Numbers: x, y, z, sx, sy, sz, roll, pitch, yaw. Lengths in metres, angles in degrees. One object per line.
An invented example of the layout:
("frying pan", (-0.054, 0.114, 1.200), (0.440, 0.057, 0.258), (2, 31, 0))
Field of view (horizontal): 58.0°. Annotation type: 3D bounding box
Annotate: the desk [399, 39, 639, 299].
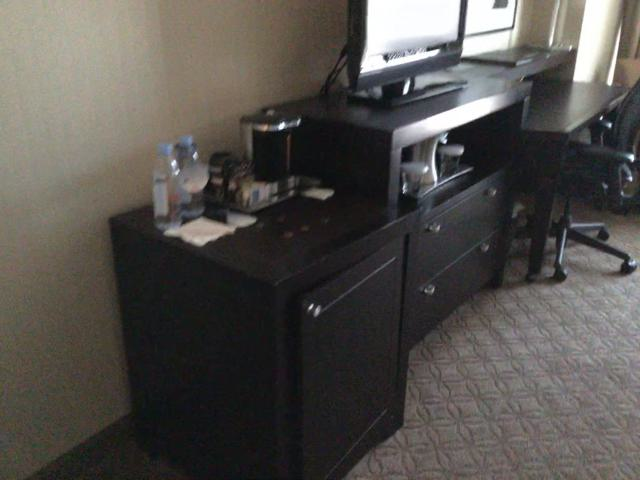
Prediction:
("desk", (1.140, -0.500, 3.120), (0.750, 1.000, 1.410), (16, 29, 39))
